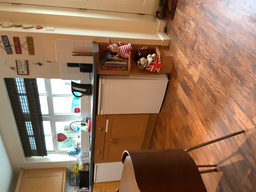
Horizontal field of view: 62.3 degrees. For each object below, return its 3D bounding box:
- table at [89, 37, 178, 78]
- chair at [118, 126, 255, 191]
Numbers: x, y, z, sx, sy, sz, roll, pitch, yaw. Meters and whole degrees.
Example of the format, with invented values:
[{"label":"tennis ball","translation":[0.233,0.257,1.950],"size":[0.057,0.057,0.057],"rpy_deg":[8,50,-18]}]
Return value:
[{"label":"table","translation":[0.040,-0.430,2.400],"size":[0.340,0.930,0.300],"rpy_deg":[-105,19,-49]},{"label":"chair","translation":[0.370,0.510,1.270],"size":[0.470,0.760,0.430],"rpy_deg":[-105,19,-49]}]
